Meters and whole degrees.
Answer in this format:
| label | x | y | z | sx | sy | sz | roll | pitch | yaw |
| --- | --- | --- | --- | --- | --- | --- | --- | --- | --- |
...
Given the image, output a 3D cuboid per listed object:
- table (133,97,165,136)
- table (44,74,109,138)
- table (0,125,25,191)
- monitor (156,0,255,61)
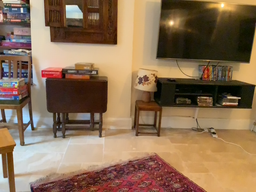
| label | x | y | z | sx | sy | sz | roll | pitch | yaw |
| --- | --- | --- | --- | --- | --- | --- | --- | --- | --- |
| table | 0.260 | 0.260 | 2.820 | 0.320 | 0.410 | 0.370 | 2 | 14 | -8 |
| table | -0.610 | 0.120 | 2.610 | 0.710 | 0.720 | 0.320 | 2 | 13 | -7 |
| table | -1.040 | 0.510 | 1.570 | 0.410 | 0.430 | 0.340 | -7 | 17 | -38 |
| monitor | 0.990 | -0.810 | 2.690 | 1.220 | 0.690 | 0.050 | 1 | 14 | -4 |
